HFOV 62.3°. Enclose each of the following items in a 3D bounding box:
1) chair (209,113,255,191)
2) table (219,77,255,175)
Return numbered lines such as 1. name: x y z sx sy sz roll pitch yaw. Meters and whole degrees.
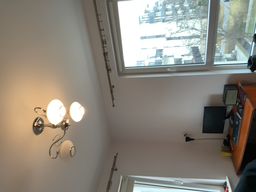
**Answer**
1. chair: 1.610 0.770 2.460 0.900 1.070 0.740 -74 -20 -56
2. table: 1.840 0.430 3.000 0.690 0.780 1.220 -77 -18 -56
